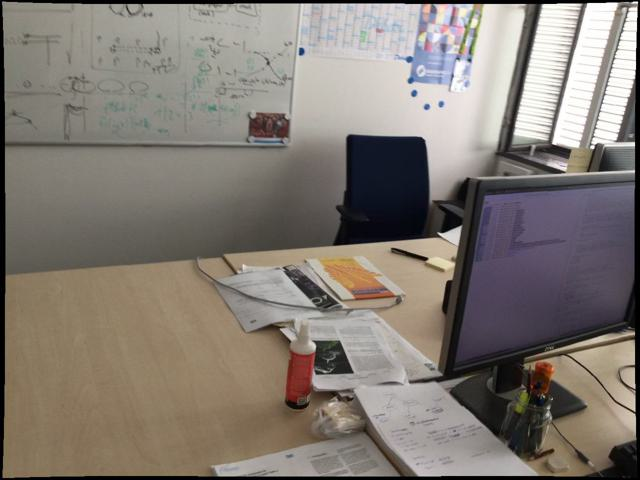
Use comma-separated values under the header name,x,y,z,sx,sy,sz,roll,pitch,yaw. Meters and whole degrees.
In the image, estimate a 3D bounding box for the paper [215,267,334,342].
name,x,y,z,sx,sy,sz,roll,pitch,yaw
paper,-0.130,0.160,1.530,0.210,0.030,0.310,-6,24,-26

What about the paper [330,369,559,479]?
name,x,y,z,sx,sy,sz,roll,pitch,yaw
paper,0.280,0.430,0.910,0.250,0.050,0.660,-6,24,-26

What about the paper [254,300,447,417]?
name,x,y,z,sx,sy,sz,roll,pitch,yaw
paper,0.060,0.250,1.310,0.330,0.050,0.300,-6,24,-26
